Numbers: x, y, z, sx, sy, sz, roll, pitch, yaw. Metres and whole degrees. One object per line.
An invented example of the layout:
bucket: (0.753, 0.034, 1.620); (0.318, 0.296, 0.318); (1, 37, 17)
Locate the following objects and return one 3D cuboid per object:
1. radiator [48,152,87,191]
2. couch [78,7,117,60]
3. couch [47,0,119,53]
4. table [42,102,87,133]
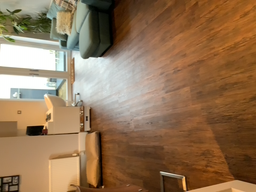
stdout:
radiator: (-1.210, 1.810, 4.260); (0.150, 0.740, 1.260); (-23, 68, 60)
couch: (-0.580, -1.080, 3.830); (0.700, 0.470, 0.620); (-21, 69, 61)
couch: (-1.050, -1.780, 4.330); (2.120, 0.870, 0.980); (-21, 70, 61)
table: (-1.570, 0.550, 5.120); (1.230, 0.830, 0.620); (-20, 70, 61)
